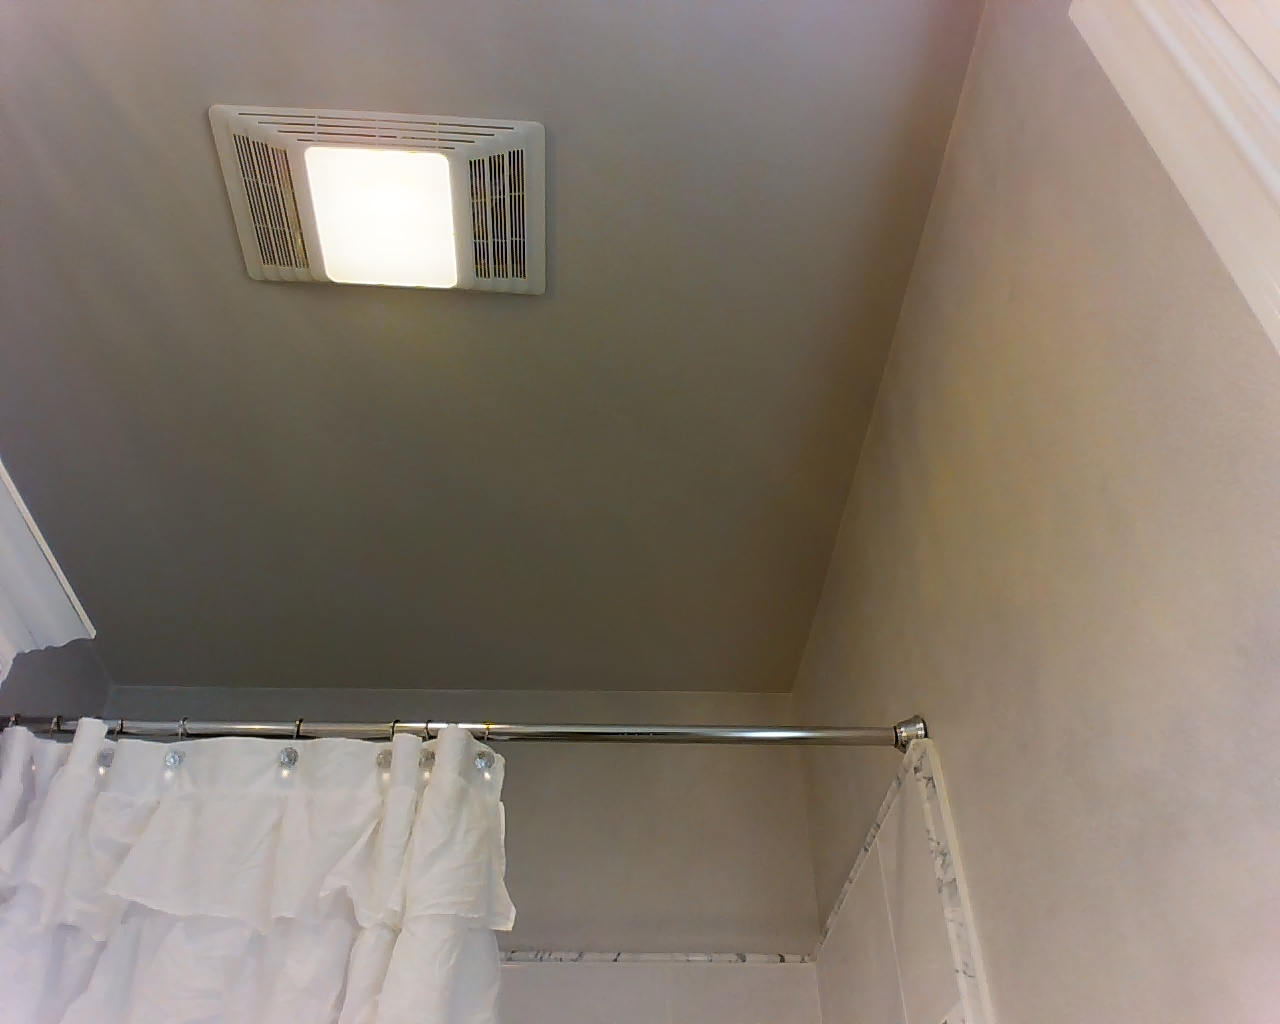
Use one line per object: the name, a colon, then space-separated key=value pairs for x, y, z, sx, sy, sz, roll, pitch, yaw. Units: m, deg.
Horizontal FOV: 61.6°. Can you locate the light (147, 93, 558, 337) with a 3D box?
light: x=-0.360 y=-0.390 z=1.450 sx=0.490 sy=0.070 sz=0.310 roll=2 pitch=-42 yaw=-2
